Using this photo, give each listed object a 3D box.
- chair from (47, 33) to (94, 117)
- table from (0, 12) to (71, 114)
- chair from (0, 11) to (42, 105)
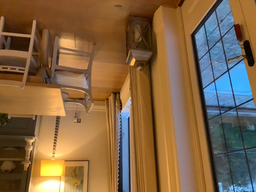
[{"bbox_3d":[-0.710,-0.240,2.690,0.450,0.860,0.540,5,158,-13],"label":"chair"},{"bbox_3d":[-1.930,-0.370,2.430,2.350,0.780,0.990,4,158,-11],"label":"table"},{"bbox_3d":[-1.230,-0.390,2.300,0.390,0.860,0.460,4,158,-12],"label":"chair"}]
